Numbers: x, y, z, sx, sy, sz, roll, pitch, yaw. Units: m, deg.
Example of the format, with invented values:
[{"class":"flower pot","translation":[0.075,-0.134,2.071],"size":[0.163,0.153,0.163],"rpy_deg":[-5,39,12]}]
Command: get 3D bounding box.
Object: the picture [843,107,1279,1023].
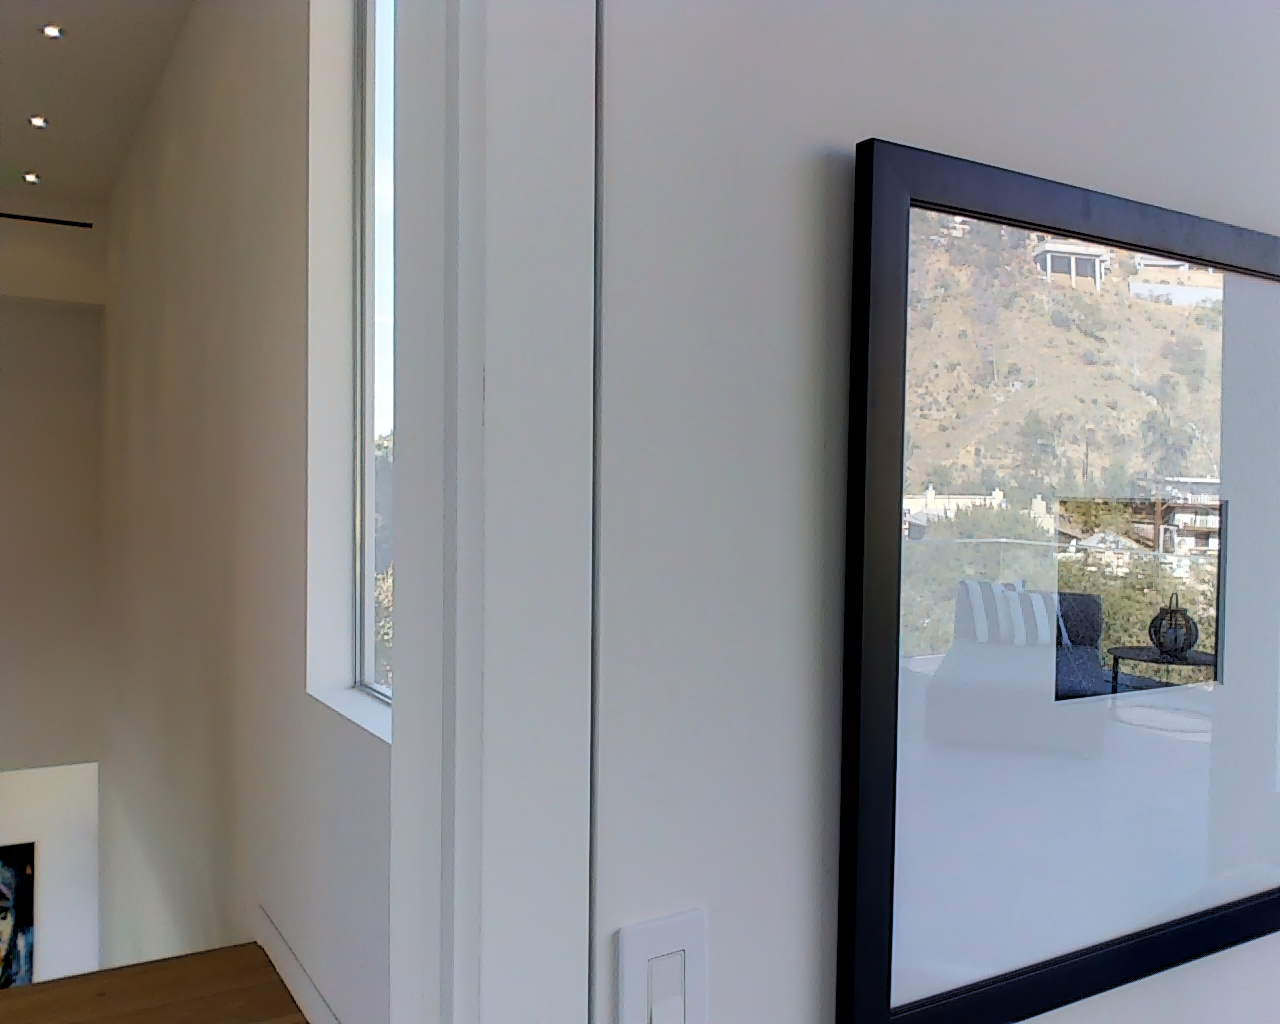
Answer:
[{"class":"picture","translation":[0.530,0.090,1.070],"size":[0.810,0.810,0.050],"rpy_deg":[0,1,-31]}]
